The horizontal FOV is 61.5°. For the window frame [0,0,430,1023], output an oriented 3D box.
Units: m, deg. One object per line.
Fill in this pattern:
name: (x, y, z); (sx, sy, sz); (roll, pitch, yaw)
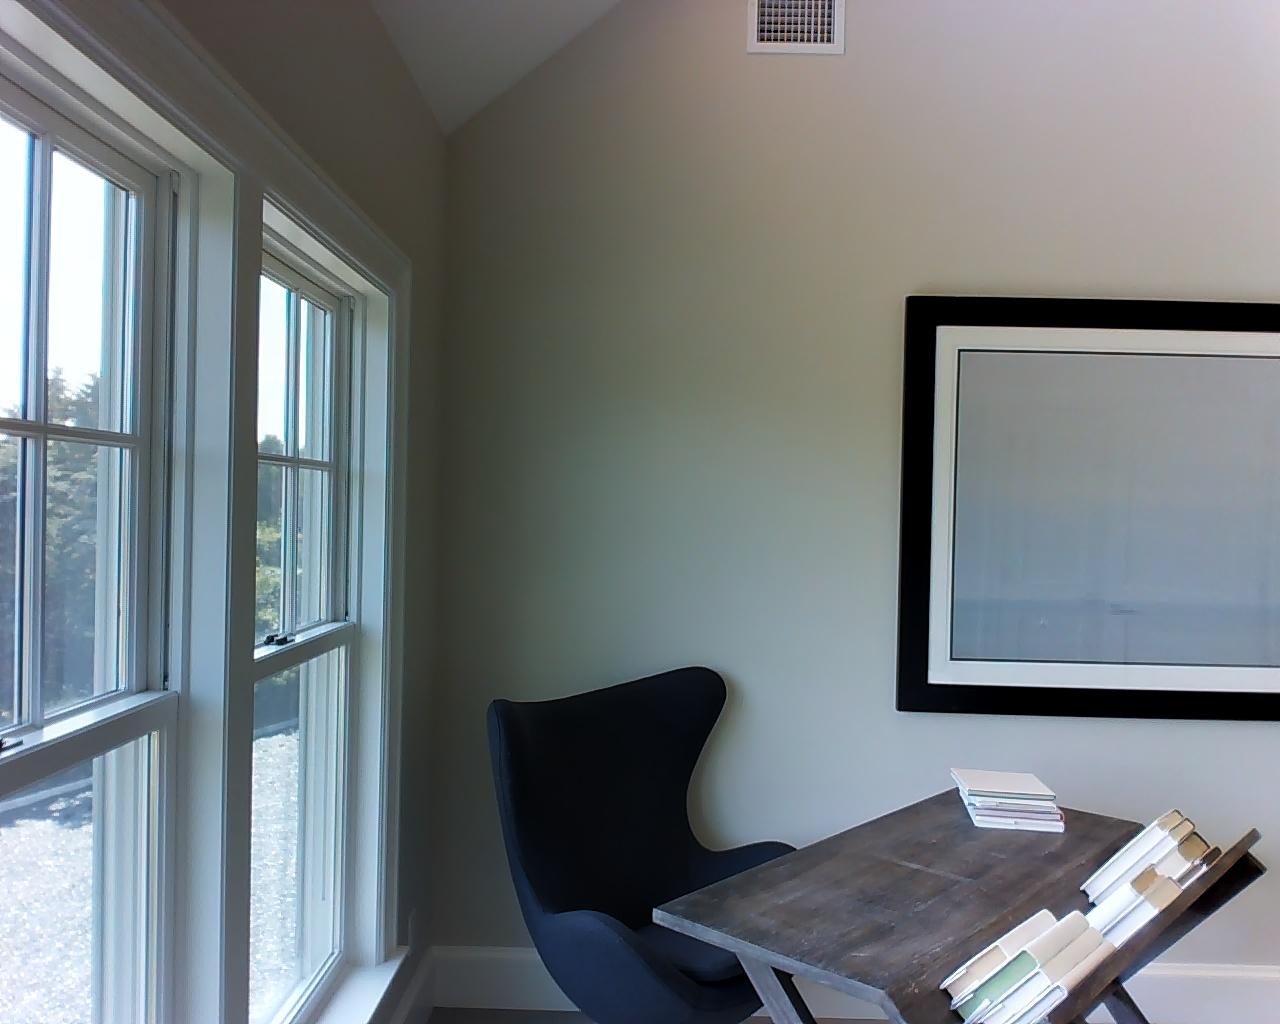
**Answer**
window frame: (-0.740, 0.340, 1.780); (0.340, 1.790, 1.920); (1, 0, 1)

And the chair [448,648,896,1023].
chair: (0.120, 0.990, 2.890); (0.690, 1.090, 1.040); (1, 0, 40)

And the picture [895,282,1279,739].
picture: (1.690, 0.000, 3.310); (1.760, 1.370, 0.070); (1, 0, 1)
